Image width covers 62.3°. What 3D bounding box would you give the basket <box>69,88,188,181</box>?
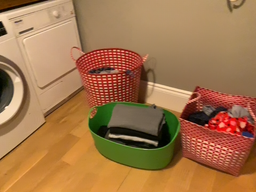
[{"bbox_3d":[0.030,0.210,1.320,0.620,0.320,0.370,6,35,14],"label":"basket"}]

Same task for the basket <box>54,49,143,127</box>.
[{"bbox_3d":[-0.180,-0.080,1.670,0.550,0.430,0.440,2,35,8],"label":"basket"}]

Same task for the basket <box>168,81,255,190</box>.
[{"bbox_3d":[0.540,0.200,1.300,0.440,0.330,0.450,15,38,25],"label":"basket"}]
